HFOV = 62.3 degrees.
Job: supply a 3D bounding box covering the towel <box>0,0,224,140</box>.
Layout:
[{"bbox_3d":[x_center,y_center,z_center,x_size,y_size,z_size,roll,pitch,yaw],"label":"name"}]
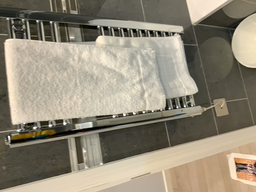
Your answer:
[{"bbox_3d":[-0.010,-0.090,0.730,0.130,0.760,0.340,-27,71,58],"label":"towel"}]
